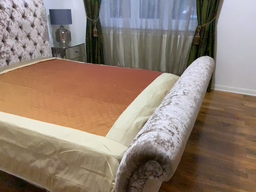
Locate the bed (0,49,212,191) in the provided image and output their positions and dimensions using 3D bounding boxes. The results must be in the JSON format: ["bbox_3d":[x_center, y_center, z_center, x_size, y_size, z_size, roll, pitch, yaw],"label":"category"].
[{"bbox_3d":[-0.610,0.090,2.190,2.540,0.610,1.800,10,26,23],"label":"bed"}]

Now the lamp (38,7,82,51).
[{"bbox_3d":[-1.040,-1.060,3.320,0.390,0.600,0.450,11,26,23],"label":"lamp"}]
